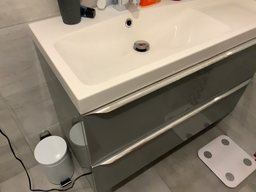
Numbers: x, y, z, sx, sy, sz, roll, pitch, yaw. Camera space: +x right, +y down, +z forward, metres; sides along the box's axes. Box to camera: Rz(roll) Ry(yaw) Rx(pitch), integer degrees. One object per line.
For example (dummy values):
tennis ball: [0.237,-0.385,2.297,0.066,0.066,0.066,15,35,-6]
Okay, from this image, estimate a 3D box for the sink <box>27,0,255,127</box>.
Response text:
sink: [0.170,-0.280,0.880,0.990,0.110,0.460,-24,52,-24]
